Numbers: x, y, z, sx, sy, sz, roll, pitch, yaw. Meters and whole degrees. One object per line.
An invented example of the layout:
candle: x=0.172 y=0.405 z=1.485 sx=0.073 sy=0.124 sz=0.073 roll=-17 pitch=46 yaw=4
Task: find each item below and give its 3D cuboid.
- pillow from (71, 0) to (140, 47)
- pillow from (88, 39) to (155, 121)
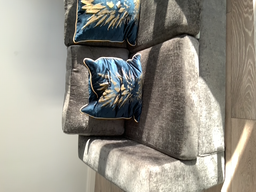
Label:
pillow: x=-0.160 y=-0.620 z=1.450 sx=0.220 sy=0.430 sz=0.490 roll=178 pitch=91 yaw=-71
pillow: x=-0.050 y=-0.090 z=1.440 sx=0.320 sy=0.330 sz=0.470 roll=-2 pitch=89 yaw=56
